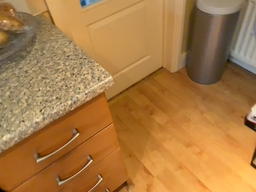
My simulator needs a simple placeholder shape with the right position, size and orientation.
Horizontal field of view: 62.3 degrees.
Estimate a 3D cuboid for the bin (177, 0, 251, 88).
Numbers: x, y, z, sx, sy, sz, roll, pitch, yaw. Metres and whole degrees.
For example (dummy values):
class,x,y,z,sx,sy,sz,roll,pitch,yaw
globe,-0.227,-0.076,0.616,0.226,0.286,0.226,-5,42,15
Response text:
class,x,y,z,sx,sy,sz,roll,pitch,yaw
bin,0.640,-0.470,1.660,0.350,0.700,0.300,-35,53,-21
